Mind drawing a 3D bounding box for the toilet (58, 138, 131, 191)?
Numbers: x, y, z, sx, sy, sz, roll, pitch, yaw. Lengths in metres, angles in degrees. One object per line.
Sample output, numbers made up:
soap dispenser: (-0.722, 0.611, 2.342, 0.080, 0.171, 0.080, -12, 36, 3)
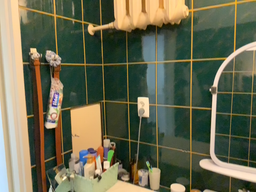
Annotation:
toilet: (-0.180, 0.400, 1.230, 0.240, 0.180, 0.340, 4, 8, 35)
